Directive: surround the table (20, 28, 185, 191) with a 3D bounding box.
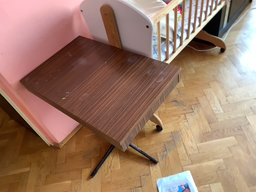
[{"bbox_3d":[-0.100,0.080,1.280,0.700,0.650,0.480,27,60,32],"label":"table"}]
